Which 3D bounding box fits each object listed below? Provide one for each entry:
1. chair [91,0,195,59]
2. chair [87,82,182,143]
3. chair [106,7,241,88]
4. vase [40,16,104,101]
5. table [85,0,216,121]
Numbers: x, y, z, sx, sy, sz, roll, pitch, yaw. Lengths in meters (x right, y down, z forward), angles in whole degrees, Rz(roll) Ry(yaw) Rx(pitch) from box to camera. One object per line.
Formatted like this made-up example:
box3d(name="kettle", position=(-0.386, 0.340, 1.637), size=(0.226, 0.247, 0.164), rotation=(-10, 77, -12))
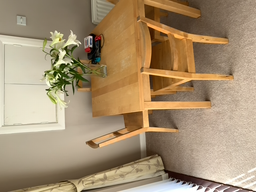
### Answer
box3d(name="chair", position=(0.140, -0.660, 1.950), size=(0.400, 0.830, 0.460), rotation=(-17, 75, 58))
box3d(name="chair", position=(0.070, 0.160, 2.070), size=(0.350, 0.830, 0.490), rotation=(-19, 74, 58))
box3d(name="chair", position=(0.340, -0.290, 1.590), size=(0.480, 0.860, 0.350), rotation=(-17, 75, 58))
box3d(name="vase", position=(-0.530, -0.290, 1.950), size=(0.470, 0.440, 0.630), rotation=(-11, 80, 59))
box3d(name="table", position=(0.130, -0.290, 2.040), size=(0.960, 0.750, 0.960), rotation=(-17, 76, 58))
